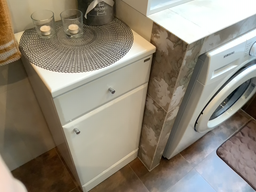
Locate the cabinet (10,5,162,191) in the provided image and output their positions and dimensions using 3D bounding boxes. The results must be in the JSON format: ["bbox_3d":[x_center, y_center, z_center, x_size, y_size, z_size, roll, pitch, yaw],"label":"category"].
[{"bbox_3d":[-0.180,0.080,1.080,0.400,0.850,0.390,-27,56,-26],"label":"cabinet"}]
